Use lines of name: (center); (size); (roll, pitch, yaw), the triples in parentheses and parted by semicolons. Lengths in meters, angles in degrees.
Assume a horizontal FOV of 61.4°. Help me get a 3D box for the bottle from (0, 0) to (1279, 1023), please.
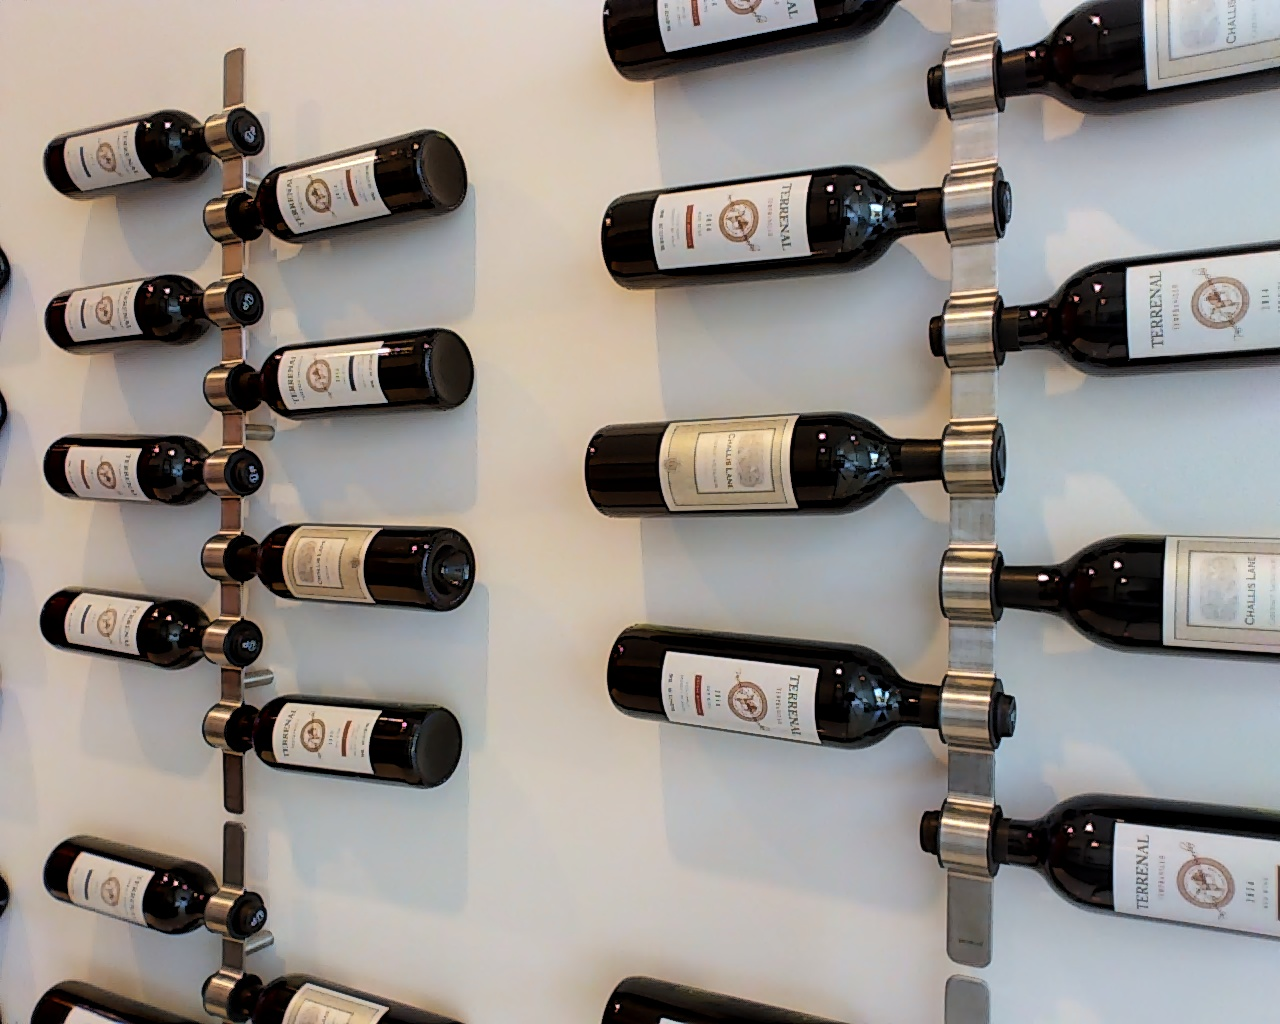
bottle: (-0.700, 0.270, 1.220); (2.660, 1.420, 0.210); (1, 0, 30)
